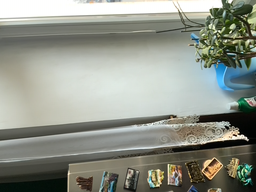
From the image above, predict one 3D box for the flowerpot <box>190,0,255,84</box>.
[{"bbox_3d":[0.520,-0.240,0.770,0.230,0.460,0.280,96,168,-56],"label":"flowerpot"}]
